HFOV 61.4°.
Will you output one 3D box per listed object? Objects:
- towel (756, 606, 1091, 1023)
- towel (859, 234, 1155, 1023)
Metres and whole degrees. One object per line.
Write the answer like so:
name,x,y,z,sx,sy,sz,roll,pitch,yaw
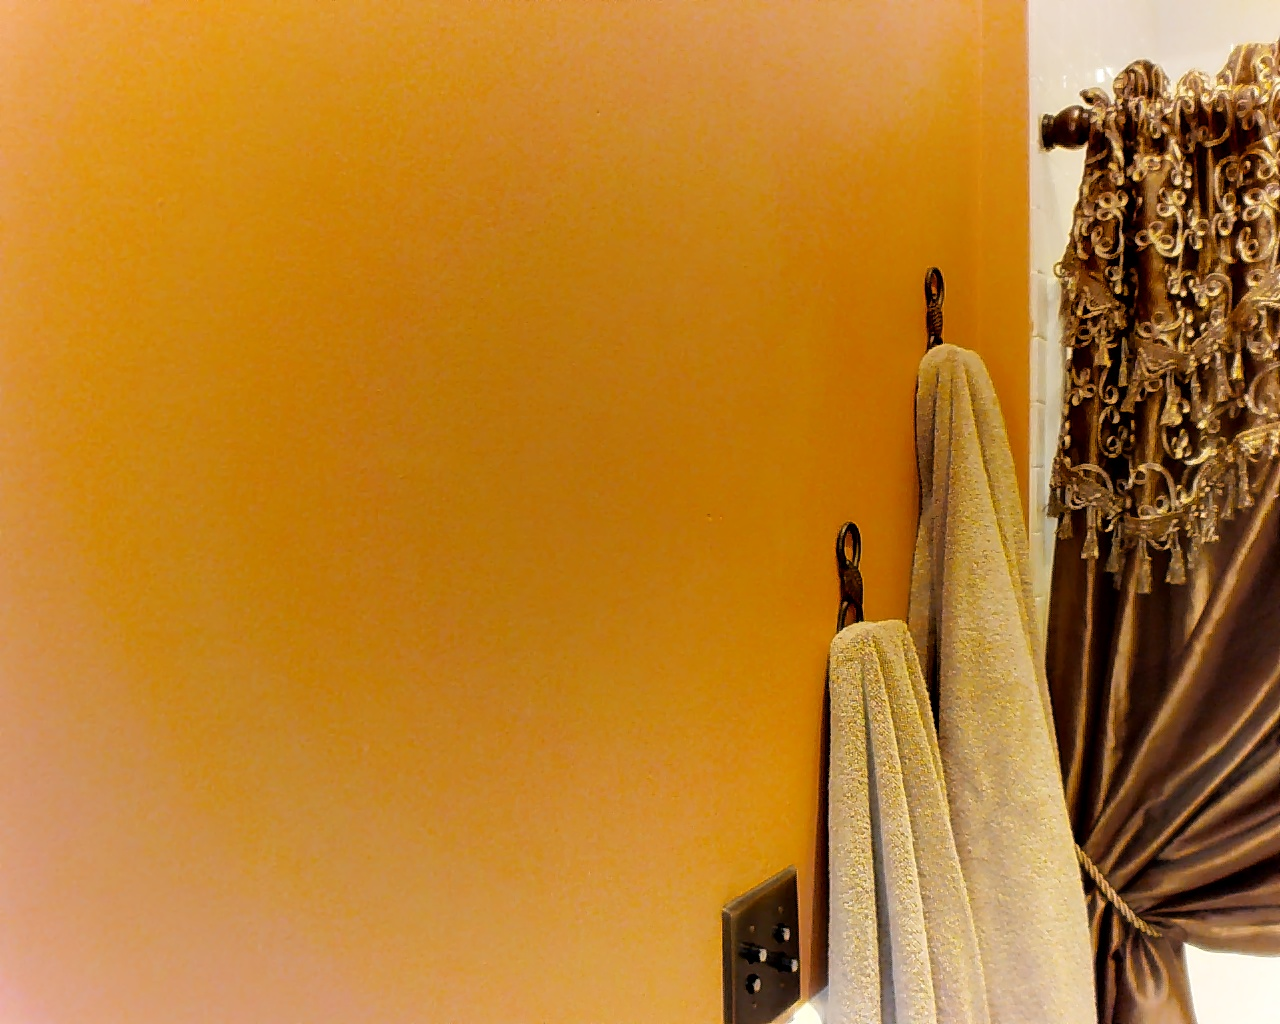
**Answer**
towel,0.260,0.620,0.950,0.190,1.040,0.310,0,1,34
towel,0.390,0.300,1.120,0.210,1.080,0.320,0,1,34
